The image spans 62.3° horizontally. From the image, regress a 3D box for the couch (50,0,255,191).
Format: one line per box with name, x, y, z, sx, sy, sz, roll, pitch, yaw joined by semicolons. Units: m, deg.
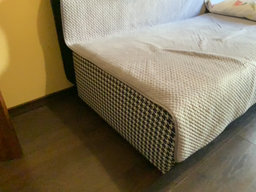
couch;0.660;-0.460;1.530;2.020;0.740;0.980;-23;39;-32
